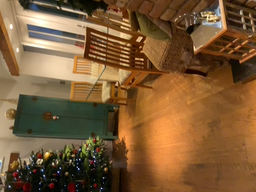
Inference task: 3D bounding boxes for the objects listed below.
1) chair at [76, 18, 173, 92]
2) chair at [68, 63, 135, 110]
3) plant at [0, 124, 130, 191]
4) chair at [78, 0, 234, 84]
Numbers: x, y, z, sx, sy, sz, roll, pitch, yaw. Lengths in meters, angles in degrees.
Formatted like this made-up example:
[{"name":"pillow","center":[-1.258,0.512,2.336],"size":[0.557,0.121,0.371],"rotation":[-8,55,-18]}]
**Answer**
[{"name":"chair","center":[-0.060,-0.440,2.600],"size":[0.610,1.010,0.500],"rotation":[142,132,-64]},{"name":"chair","center":[-0.460,-0.120,3.620],"size":[0.600,1.010,0.500],"rotation":[139,135,-63]},{"name":"plant","center":[-1.230,1.380,3.370],"size":[1.130,2.220,1.610],"rotation":[144,130,-65]},{"name":"chair","center":[0.160,-0.560,1.770],"size":[0.530,1.040,0.610],"rotation":[-113,35,-56]}]
